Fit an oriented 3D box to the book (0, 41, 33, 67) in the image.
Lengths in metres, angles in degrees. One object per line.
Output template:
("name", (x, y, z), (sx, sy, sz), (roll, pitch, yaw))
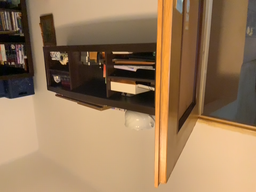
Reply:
("book", (-1.600, -0.490, 2.490), (0.290, 0.290, 0.800), (11, -162, 39))
